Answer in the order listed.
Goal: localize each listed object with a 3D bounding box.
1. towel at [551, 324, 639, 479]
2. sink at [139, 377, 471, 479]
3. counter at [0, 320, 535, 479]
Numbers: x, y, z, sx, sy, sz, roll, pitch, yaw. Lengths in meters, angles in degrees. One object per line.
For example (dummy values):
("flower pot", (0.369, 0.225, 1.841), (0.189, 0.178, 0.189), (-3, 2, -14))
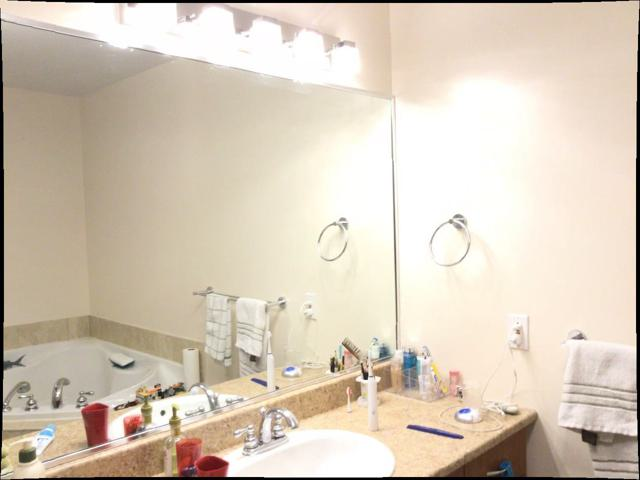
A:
("towel", (0.839, 0.520, 1.640), (0.290, 0.500, 0.170), (4, 6, 41))
("sink", (0.000, 0.611, 1.550), (0.480, 0.200, 0.790), (4, 6, 41))
("counter", (-0.100, 0.510, 1.530), (0.740, 0.230, 1.569), (4, 6, 41))
